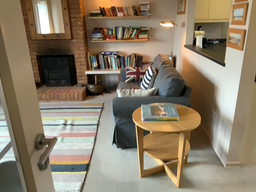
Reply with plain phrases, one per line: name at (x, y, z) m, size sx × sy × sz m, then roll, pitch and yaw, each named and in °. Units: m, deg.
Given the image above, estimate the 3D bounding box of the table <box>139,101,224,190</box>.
table at (0.430, 0.430, 1.990) m, size 0.630 × 0.600 × 0.560 m, roll -1°, pitch 20°, yaw 1°
